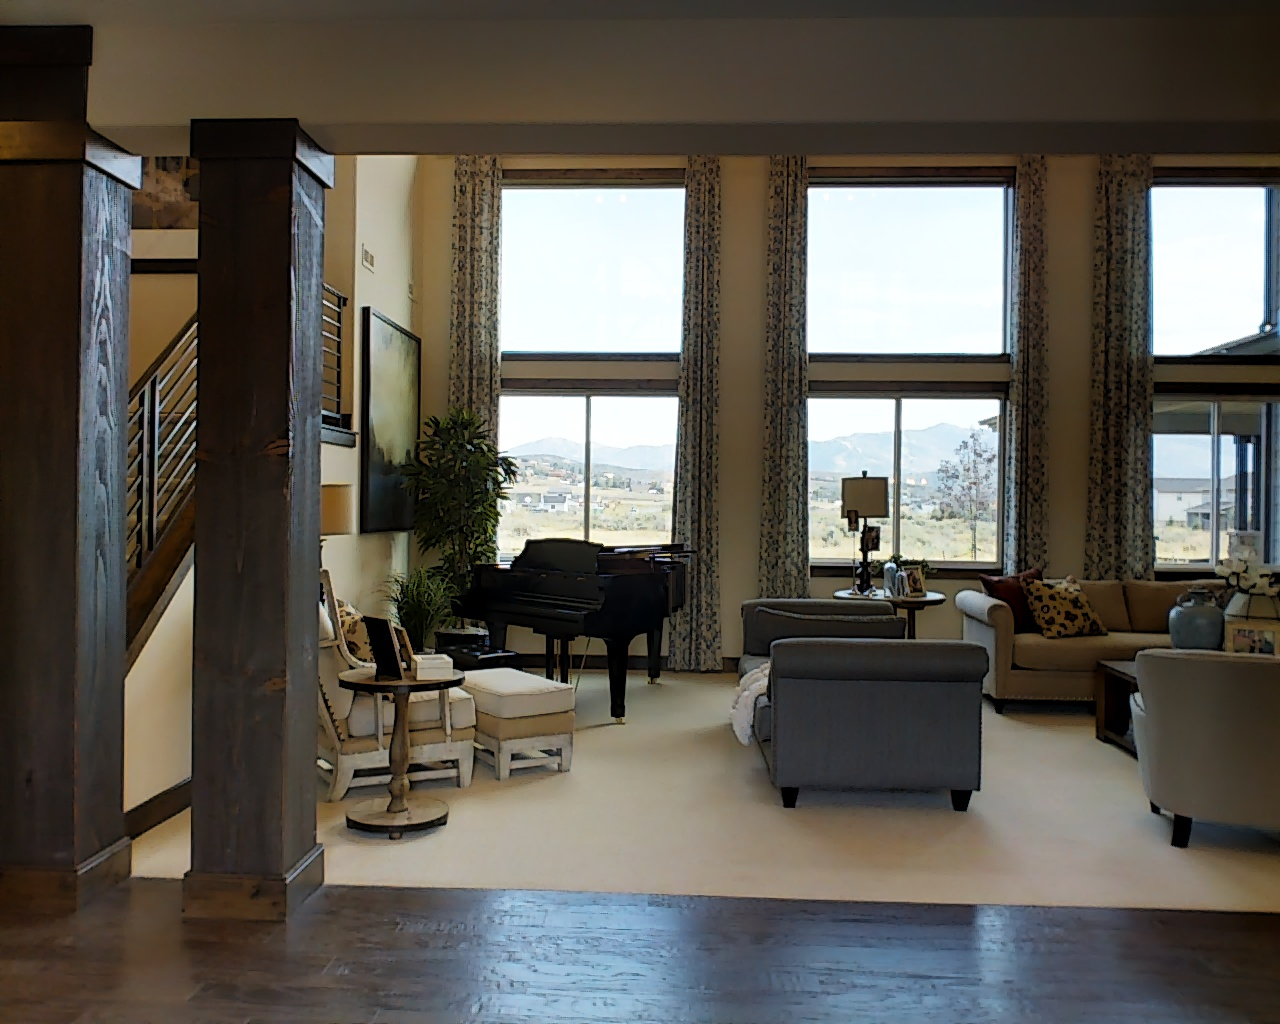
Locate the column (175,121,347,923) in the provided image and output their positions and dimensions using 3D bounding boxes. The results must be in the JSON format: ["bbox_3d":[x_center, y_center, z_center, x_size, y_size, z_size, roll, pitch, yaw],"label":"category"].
[{"bbox_3d":[-1.330,0.030,3.800,0.420,2.680,0.420,0,0,3],"label":"column"}]

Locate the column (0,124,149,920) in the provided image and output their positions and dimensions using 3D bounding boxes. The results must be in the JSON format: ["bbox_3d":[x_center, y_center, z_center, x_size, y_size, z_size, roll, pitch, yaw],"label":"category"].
[{"bbox_3d":[-2.030,0.030,3.780,0.390,2.670,0.350,0,0,3],"label":"column"}]
